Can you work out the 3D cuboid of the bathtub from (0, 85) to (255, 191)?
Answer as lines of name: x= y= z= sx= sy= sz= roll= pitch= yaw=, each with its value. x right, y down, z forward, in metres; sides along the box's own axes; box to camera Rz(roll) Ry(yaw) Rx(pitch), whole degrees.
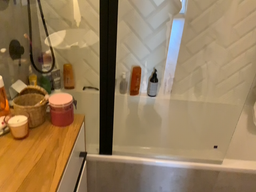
bathtub: x=0.180 y=0.400 z=1.450 sx=1.660 sy=0.570 sz=0.690 roll=5 pitch=29 yaw=0
